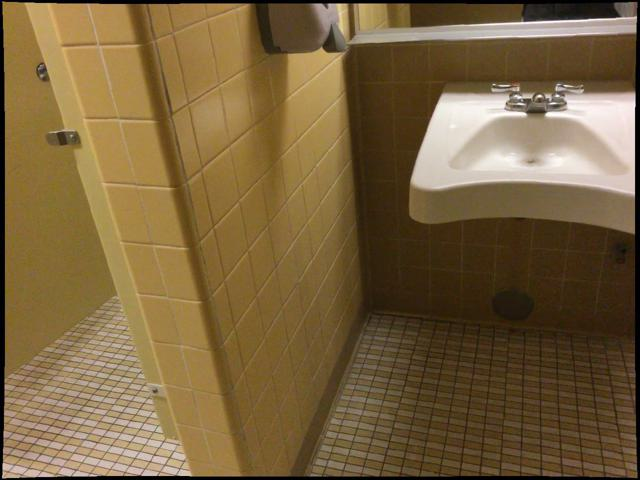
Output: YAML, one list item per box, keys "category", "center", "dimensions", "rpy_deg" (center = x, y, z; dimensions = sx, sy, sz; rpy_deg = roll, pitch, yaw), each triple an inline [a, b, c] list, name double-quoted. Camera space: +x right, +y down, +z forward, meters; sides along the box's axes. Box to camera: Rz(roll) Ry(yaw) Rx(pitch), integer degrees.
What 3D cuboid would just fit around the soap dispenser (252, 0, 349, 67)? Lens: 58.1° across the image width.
- category: "soap dispenser"
  center: [-0.040, -0.491, 1.180]
  dimensions: [0.140, 0.220, 0.170]
  rpy_deg: [3, 30, 18]
